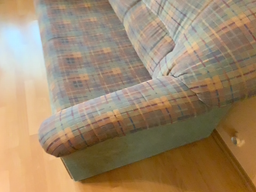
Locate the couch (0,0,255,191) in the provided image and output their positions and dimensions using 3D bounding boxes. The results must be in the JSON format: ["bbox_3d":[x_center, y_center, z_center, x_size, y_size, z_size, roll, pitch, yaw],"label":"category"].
[{"bbox_3d":[-0.100,-0.450,1.300,0.940,0.870,1.690,-15,55,-13],"label":"couch"}]
